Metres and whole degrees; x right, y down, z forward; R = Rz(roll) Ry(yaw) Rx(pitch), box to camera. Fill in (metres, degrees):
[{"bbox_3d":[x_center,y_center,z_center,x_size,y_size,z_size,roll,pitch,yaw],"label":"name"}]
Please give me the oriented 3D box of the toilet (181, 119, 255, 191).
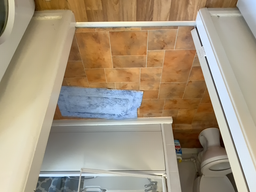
[{"bbox_3d":[0.910,0.760,2.250,0.470,0.820,0.630,-1,143,2],"label":"toilet"}]
